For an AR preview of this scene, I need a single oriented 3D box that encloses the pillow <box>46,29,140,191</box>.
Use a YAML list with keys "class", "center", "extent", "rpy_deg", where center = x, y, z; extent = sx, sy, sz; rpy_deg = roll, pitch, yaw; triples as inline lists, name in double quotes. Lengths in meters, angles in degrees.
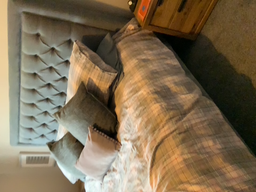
- class: "pillow"
  center: [-0.430, 0.360, 1.770]
  extent: [0.830, 0.340, 1.510]
  rpy_deg: [-108, 33, -46]
